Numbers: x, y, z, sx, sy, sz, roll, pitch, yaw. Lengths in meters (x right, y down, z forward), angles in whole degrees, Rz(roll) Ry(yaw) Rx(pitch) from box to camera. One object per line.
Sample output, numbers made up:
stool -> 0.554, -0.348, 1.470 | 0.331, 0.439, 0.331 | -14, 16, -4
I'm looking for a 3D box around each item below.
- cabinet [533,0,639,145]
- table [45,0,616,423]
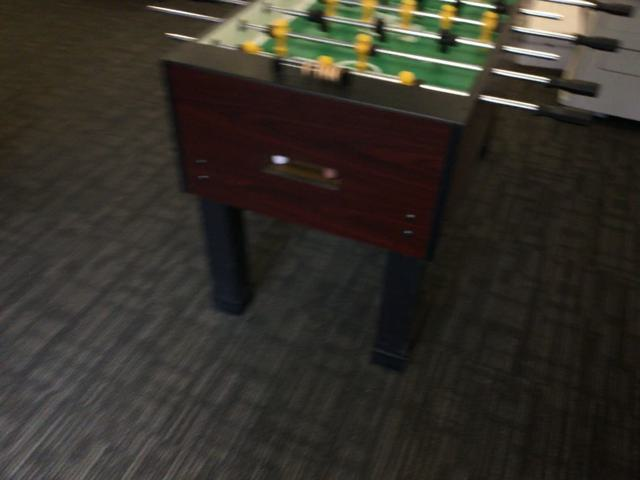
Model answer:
cabinet -> 1.510, -1.070, 2.640 | 0.710, 0.930, 0.830 | 16, 46, 17
table -> 0.190, -0.420, 1.990 | 1.240, 0.950, 1.390 | 16, 46, 17
